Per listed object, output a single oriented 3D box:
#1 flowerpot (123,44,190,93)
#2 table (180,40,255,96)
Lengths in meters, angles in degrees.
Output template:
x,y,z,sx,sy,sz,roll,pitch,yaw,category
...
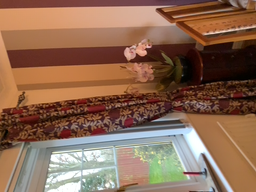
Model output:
x,y,z,sx,sy,sz,roll,pitch,yaw,category
0.250,-0.270,2.030,0.230,0.570,0.370,-106,14,-58,flowerpot
0.890,-0.280,2.020,0.370,0.640,0.380,-106,14,-57,table
